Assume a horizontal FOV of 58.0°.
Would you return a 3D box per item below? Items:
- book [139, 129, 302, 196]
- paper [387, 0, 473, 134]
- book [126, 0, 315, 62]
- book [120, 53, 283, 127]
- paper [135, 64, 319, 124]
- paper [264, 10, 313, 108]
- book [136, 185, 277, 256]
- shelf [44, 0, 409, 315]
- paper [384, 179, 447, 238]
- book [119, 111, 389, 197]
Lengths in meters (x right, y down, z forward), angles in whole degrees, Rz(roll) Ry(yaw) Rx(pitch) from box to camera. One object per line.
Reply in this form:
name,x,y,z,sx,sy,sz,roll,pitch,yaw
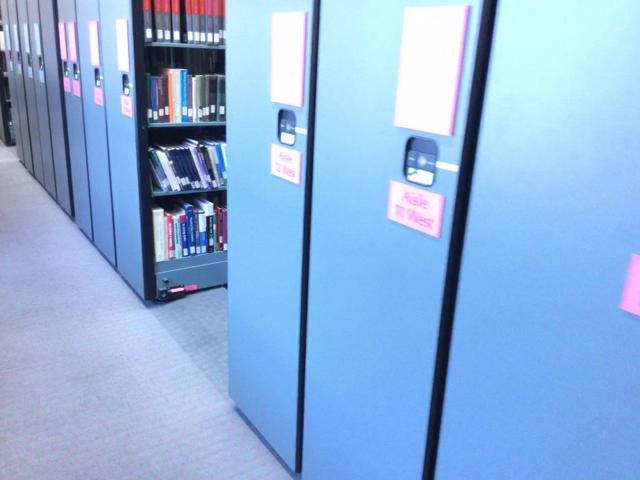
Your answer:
book,-0.530,-0.440,3.170,0.830,0.300,0.280,-7,19,-33
paper,0.210,-0.340,1.140,0.020,0.240,0.180,-7,19,-34
book,-0.470,-1.110,2.900,0.950,0.350,0.140,-7,19,-33
book,-0.610,-0.780,3.040,0.780,0.330,0.290,-7,19,-33
paper,-0.470,-0.770,3.090,0.960,0.260,0.220,-7,19,-33
paper,-0.090,-0.490,1.570,0.030,0.240,0.190,-7,19,-34
book,-0.640,-0.130,3.300,0.710,0.280,0.320,-7,19,-33
shelf,-0.740,-0.790,3.920,1.680,1.770,1.870,-7,19,-34
paper,0.200,-0.070,1.230,0.010,0.090,0.170,-7,19,-34
book,-0.330,-0.520,3.350,1.510,0.380,0.410,-7,19,-33
